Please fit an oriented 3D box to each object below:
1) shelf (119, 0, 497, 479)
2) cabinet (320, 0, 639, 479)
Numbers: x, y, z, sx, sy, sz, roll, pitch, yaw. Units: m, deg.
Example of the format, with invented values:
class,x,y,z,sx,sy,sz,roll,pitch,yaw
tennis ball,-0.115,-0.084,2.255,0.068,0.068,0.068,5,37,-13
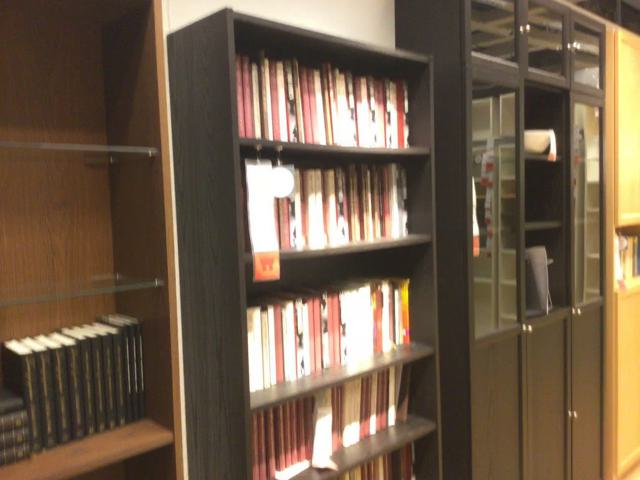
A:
class,x,y,z,sx,sy,sz,roll,pitch,yaw
shelf,0.010,0.390,1.790,0.890,1.990,0.590,-5,0,-41
cabinet,0.920,0.130,2.470,1.480,2.320,0.710,-5,-3,-41
